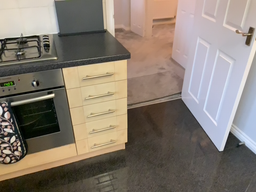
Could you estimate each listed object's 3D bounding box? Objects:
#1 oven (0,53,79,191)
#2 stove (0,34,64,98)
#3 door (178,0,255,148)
[{"bbox_3d":[-0.770,0.170,1.600,0.580,0.740,0.600,-13,35,-18],"label":"oven"},{"bbox_3d":[-0.760,-0.210,1.360,0.580,0.140,0.600,-13,35,-18],"label":"stove"},{"bbox_3d":[0.700,-0.600,1.640,0.050,1.940,0.840,-5,33,-9],"label":"door"}]
